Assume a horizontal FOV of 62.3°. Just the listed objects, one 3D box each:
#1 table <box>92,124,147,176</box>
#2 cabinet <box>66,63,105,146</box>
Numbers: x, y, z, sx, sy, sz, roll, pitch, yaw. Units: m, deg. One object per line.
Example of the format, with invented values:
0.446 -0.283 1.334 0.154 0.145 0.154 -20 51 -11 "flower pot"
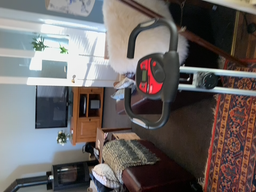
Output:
-0.140 0.720 3.000 0.620 0.540 0.450 -153 66 -62 "table"
-0.920 0.160 4.530 0.480 0.640 1.660 -162 74 -63 "cabinet"
